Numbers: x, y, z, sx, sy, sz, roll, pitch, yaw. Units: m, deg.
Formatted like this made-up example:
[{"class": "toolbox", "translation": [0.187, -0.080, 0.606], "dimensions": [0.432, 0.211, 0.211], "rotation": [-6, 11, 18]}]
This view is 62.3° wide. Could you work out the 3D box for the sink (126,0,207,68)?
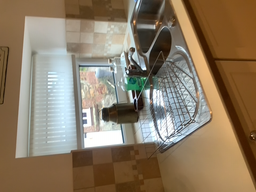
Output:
[{"class": "sink", "translation": [0.190, -0.470, 1.310], "dimensions": [0.510, 0.230, 0.360], "rotation": [118, 146, -58]}]
